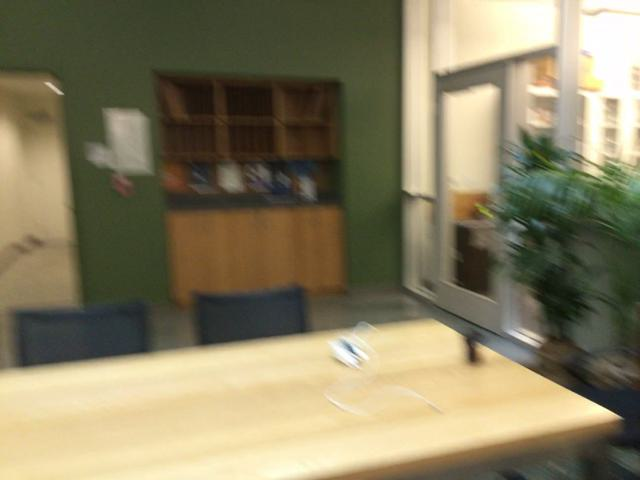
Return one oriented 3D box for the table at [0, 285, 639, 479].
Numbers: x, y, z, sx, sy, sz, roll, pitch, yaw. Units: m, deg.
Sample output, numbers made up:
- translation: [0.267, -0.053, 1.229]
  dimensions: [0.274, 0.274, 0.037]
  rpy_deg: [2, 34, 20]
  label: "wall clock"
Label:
- translation: [-0.480, 0.760, 1.720]
  dimensions: [2.520, 0.860, 1.160]
  rpy_deg: [-2, 9, -17]
  label: "table"
